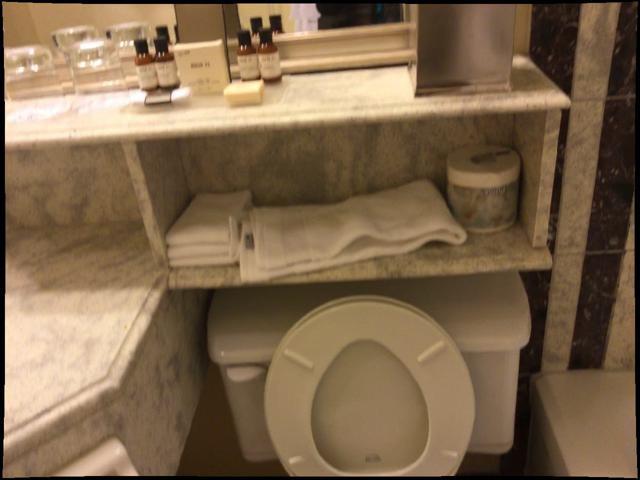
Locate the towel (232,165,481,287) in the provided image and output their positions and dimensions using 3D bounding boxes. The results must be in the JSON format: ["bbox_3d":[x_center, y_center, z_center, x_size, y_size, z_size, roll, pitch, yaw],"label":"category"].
[{"bbox_3d":[0.060,-0.030,0.990,0.380,0.080,0.210,-6,30,5],"label":"towel"}]

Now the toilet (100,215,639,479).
[{"bbox_3d":[0.100,0.480,1.040,0.629,0.761,0.680,-6,30,5],"label":"toilet"}]

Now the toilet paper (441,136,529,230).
[{"bbox_3d":[0.280,-0.100,1.000,0.120,0.110,0.120,-6,30,5],"label":"toilet paper"}]
